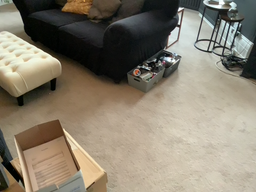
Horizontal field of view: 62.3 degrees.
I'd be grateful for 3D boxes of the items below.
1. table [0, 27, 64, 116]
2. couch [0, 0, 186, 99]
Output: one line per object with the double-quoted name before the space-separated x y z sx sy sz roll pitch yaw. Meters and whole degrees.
"table" -1.200 -0.310 2.060 1.050 0.360 0.500 27 46 27
"couch" -0.480 -0.980 2.490 1.910 0.890 1.110 27 46 27
